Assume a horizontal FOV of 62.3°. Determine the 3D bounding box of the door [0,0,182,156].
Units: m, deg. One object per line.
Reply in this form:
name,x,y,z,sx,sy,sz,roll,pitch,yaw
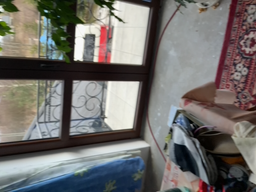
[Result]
door,-0.670,-0.260,1.730,0.140,2.470,1.490,32,118,56
